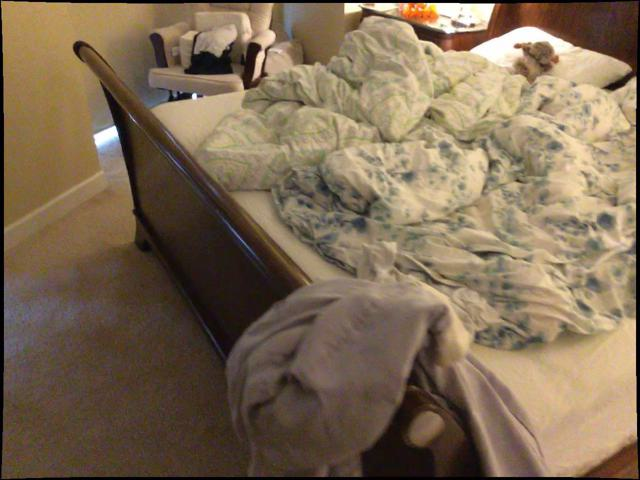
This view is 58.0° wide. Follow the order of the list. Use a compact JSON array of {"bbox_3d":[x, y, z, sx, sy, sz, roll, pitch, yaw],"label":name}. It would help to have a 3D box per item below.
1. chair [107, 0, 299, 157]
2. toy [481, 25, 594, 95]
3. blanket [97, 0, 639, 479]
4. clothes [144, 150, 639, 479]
[{"bbox_3d":[-0.638,-1.193,3.550,0.778,0.942,0.971,9,35,11],"label":"chair"},{"bbox_3d":[0.918,-0.772,2.450,0.329,0.180,0.270,-18,38,-26],"label":"toy"},{"bbox_3d":[0.609,-0.431,1.830,2.117,0.421,1.540,-18,38,-26],"label":"blanket"},{"bbox_3d":[0.110,0.361,1.010,0.559,0.781,0.540,-18,38,-26],"label":"clothes"}]
